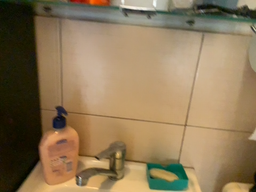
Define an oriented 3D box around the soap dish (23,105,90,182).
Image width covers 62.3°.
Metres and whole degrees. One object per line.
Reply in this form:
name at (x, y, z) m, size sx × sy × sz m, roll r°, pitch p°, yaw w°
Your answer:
soap dish at (-0.180, 0.120, 0.560) m, size 0.130 × 0.150 × 0.110 m, roll 6°, pitch 20°, yaw 1°
